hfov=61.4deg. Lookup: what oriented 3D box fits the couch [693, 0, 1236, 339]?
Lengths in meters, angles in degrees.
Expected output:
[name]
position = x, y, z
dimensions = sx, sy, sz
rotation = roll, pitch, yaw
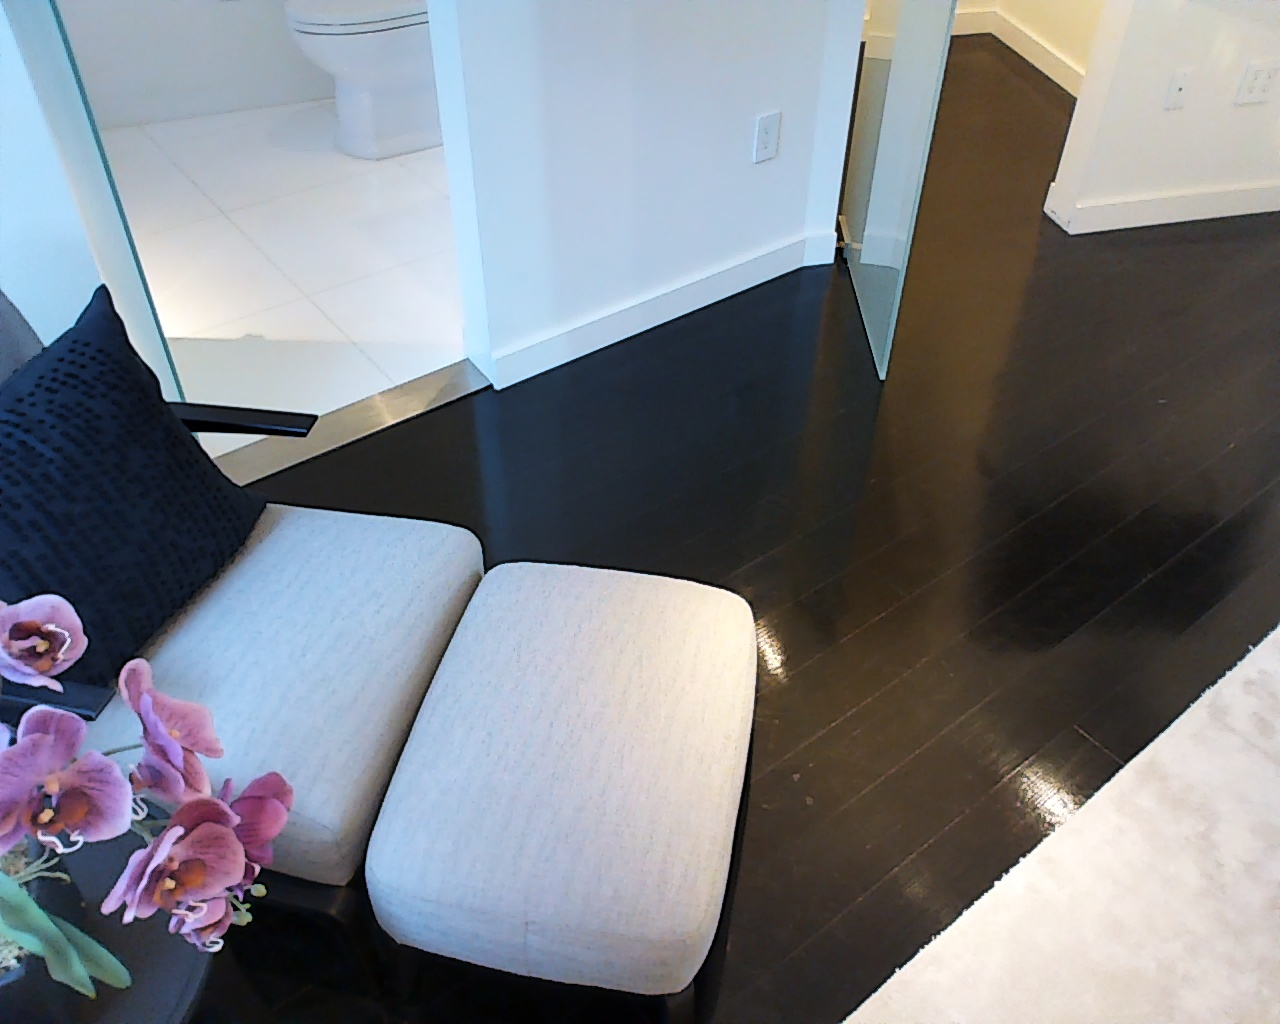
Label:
[couch]
position = 0.940, -1.210, 3.250
dimensions = 1.370, 0.810, 0.680
rotation = -21, 46, -22
